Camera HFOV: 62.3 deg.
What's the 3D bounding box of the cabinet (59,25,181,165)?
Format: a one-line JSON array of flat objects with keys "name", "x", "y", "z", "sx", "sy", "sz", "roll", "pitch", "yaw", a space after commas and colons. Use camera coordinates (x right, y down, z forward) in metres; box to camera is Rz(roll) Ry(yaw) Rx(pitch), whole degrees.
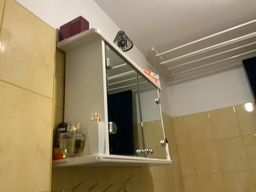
[{"name": "cabinet", "x": 0.030, "y": 0.090, "z": 1.020, "sx": 0.170, "sy": 0.440, "sz": 0.790, "roll": -15, "pitch": -23, "yaw": 24}]
